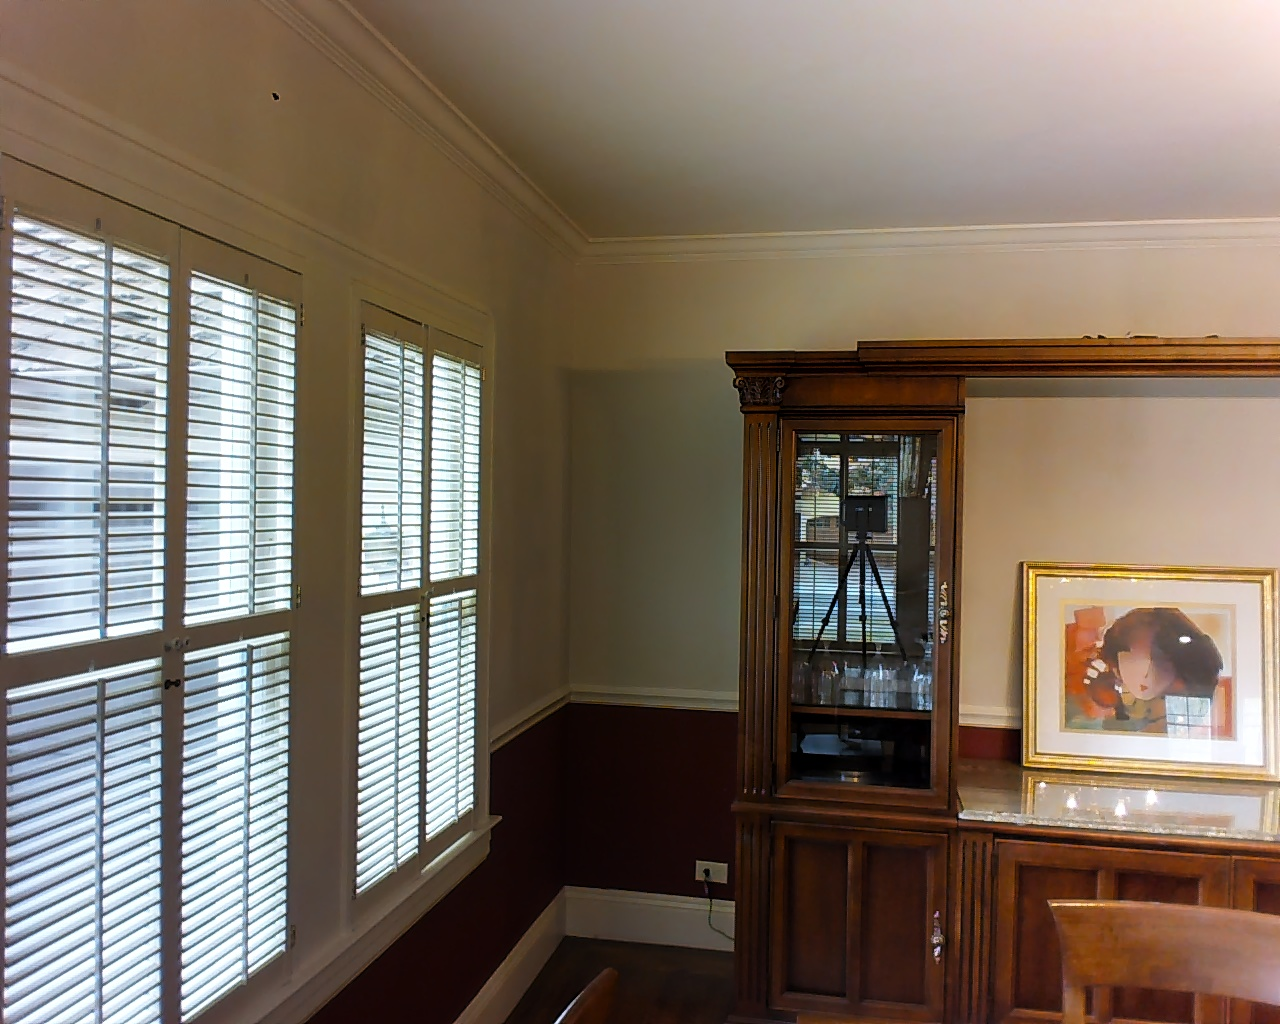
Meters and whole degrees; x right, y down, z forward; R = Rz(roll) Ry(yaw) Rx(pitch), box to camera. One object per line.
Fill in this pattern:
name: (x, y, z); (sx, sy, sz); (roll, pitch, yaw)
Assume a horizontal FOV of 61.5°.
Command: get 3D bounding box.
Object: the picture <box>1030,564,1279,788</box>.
picture: (1.670, 0.520, 3.490); (0.760, 0.680, 0.070); (1, -6, 13)
